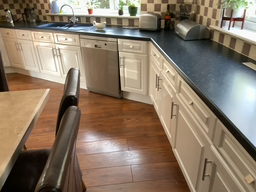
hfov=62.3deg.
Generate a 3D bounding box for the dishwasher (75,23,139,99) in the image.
[{"bbox_3d":[-0.260,-0.540,3.130,0.630,0.890,0.620,13,32,27],"label":"dishwasher"}]

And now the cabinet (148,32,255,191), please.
[{"bbox_3d":[0.650,0.200,1.650,0.570,0.910,2.190,-5,28,-4],"label":"cabinet"}]

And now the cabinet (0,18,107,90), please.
[{"bbox_3d":[-1.280,-0.790,3.660,1.730,0.900,0.600,13,32,27],"label":"cabinet"}]
